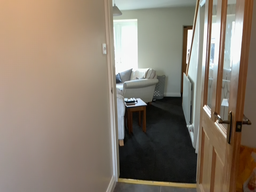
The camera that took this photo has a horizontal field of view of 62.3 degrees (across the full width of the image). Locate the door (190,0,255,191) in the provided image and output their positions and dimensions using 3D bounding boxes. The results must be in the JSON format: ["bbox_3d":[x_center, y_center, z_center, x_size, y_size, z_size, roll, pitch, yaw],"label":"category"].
[{"bbox_3d":[0.570,0.090,1.400,0.100,1.970,0.820,1,13,9],"label":"door"}]

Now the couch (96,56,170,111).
[{"bbox_3d":[0.120,-0.420,5.450,1.360,1.100,1.290,-11,17,-36],"label":"couch"}]
